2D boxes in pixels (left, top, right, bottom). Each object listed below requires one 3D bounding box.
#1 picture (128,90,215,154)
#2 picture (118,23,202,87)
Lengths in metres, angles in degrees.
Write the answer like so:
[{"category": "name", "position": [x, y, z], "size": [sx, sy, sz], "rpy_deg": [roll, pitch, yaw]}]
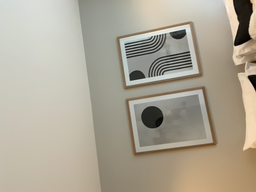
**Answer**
[{"category": "picture", "position": [0.380, 0.240, 1.930], "size": [0.010, 0.710, 0.480], "rpy_deg": [33, -132, -79]}, {"category": "picture", "position": [0.290, -0.390, 2.030], "size": [0.020, 0.720, 0.500], "rpy_deg": [44, -143, -77]}]
